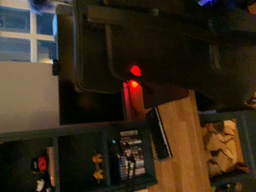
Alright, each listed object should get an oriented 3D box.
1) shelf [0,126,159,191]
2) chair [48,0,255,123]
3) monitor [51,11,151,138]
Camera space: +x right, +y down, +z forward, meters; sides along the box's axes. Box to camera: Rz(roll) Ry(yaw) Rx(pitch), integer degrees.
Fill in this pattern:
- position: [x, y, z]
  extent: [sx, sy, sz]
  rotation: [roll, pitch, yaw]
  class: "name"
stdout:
- position: [-0.550, 0.400, 1.020]
  extent: [0.280, 1.420, 0.370]
  rotation: [151, 115, -61]
  class: "shelf"
- position: [0.340, -0.240, 1.060]
  extent: [0.690, 1.310, 0.640]
  rotation: [163, 104, -63]
  class: "chair"
- position: [-0.150, -0.130, 1.220]
  extent: [0.050, 0.520, 0.680]
  rotation: [152, 114, -62]
  class: "monitor"
